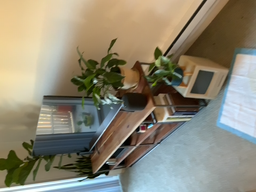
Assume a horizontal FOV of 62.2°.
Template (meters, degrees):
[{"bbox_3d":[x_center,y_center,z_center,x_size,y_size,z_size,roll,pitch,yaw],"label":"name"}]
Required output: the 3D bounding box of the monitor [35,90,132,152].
[{"bbox_3d":[-0.480,0.280,2.030,1.020,0.680,0.070,-55,42,46],"label":"monitor"}]
